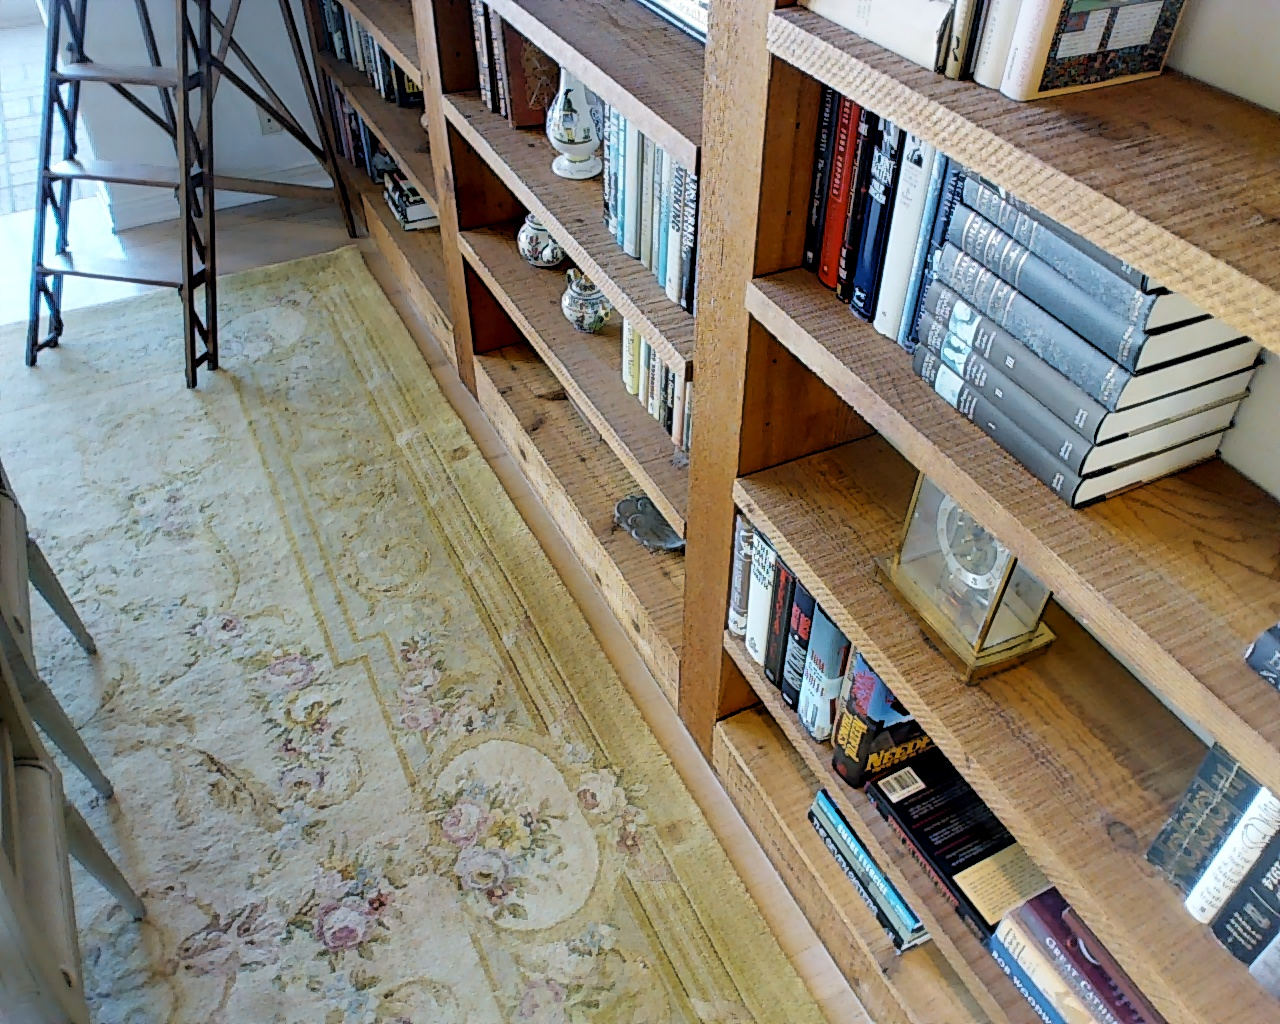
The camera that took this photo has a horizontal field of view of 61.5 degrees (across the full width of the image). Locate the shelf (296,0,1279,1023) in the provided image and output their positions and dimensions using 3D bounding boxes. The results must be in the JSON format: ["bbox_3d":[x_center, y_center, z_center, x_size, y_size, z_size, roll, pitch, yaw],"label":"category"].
[{"bbox_3d":[0.490,-0.150,0.780,0.370,2.530,6.560,-18,45,-18],"label":"shelf"}]

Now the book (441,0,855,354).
[{"bbox_3d":[-0.050,-0.670,1.850,0.220,0.250,1.070,-19,45,-19],"label":"book"}]

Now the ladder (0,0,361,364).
[{"bbox_3d":[-1.220,-1.190,3.000,0.560,1.470,0.820,18,67,-5],"label":"ladder"}]

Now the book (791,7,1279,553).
[{"bbox_3d":[0.380,-0.250,1.040,0.230,0.290,0.480,-17,44,-17],"label":"book"}]
